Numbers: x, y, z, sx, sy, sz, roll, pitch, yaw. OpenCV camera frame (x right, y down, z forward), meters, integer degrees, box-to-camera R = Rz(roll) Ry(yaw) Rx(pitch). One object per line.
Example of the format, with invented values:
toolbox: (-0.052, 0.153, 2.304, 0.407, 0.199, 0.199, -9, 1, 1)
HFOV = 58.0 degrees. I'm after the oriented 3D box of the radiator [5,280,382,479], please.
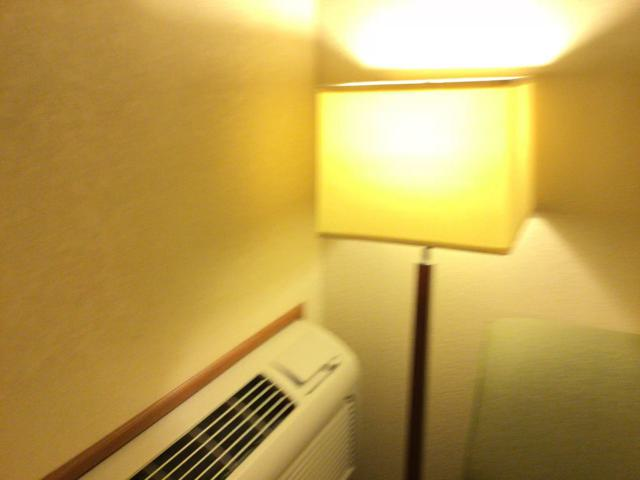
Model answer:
radiator: (-0.180, 0.520, 1.170, 0.190, 0.540, 1.150, 7, 17, 27)
